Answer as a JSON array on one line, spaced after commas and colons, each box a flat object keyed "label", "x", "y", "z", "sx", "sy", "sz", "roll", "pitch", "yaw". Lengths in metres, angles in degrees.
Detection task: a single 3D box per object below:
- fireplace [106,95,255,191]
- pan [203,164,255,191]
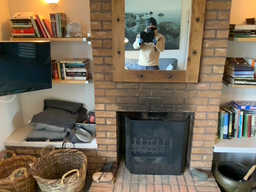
[{"label": "fireplace", "x": 0.430, "y": 0.520, "z": 2.170, "sx": 1.140, "sy": 0.770, "sz": 1.060, "roll": 1, "pitch": 17, "yaw": 2}, {"label": "pan", "x": 1.000, "y": 0.890, "z": 2.160, "sx": 0.350, "sy": 0.190, "sz": 0.370, "roll": 1, "pitch": 17, "yaw": 3}]
